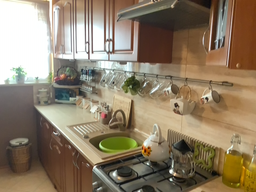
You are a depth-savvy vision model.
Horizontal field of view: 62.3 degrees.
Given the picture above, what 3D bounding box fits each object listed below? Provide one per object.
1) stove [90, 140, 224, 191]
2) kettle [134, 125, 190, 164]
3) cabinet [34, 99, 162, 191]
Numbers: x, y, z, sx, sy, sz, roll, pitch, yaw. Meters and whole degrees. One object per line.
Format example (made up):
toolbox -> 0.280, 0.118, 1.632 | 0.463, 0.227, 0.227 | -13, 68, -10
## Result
stove -> 0.160, 0.500, 1.310 | 0.610, 0.170, 0.530 | -5, 12, -33
kettle -> 0.230, 0.320, 1.460 | 0.290, 0.130, 0.240 | -5, 12, -33
cabinet -> -0.530, 0.680, 2.380 | 0.600, 0.910, 1.920 | -5, 12, -33
